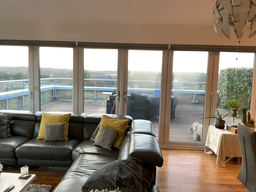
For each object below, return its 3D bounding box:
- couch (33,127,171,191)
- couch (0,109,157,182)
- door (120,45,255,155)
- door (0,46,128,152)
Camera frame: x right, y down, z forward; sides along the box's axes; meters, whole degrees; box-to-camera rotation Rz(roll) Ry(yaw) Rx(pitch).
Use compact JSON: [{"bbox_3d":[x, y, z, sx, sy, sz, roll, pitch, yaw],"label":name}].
[{"bbox_3d":[-0.190,0.880,2.270,1.030,0.750,1.320,2,6,2],"label":"couch"},{"bbox_3d":[-1.130,0.720,3.470,3.060,0.750,1.050,2,6,1],"label":"couch"},{"bbox_3d":[1.240,0.100,4.290,2.740,2.120,0.120,2,6,1],"label":"door"},{"bbox_3d":[-1.450,0.050,4.300,2.830,2.030,0.090,2,6,4],"label":"door"}]
